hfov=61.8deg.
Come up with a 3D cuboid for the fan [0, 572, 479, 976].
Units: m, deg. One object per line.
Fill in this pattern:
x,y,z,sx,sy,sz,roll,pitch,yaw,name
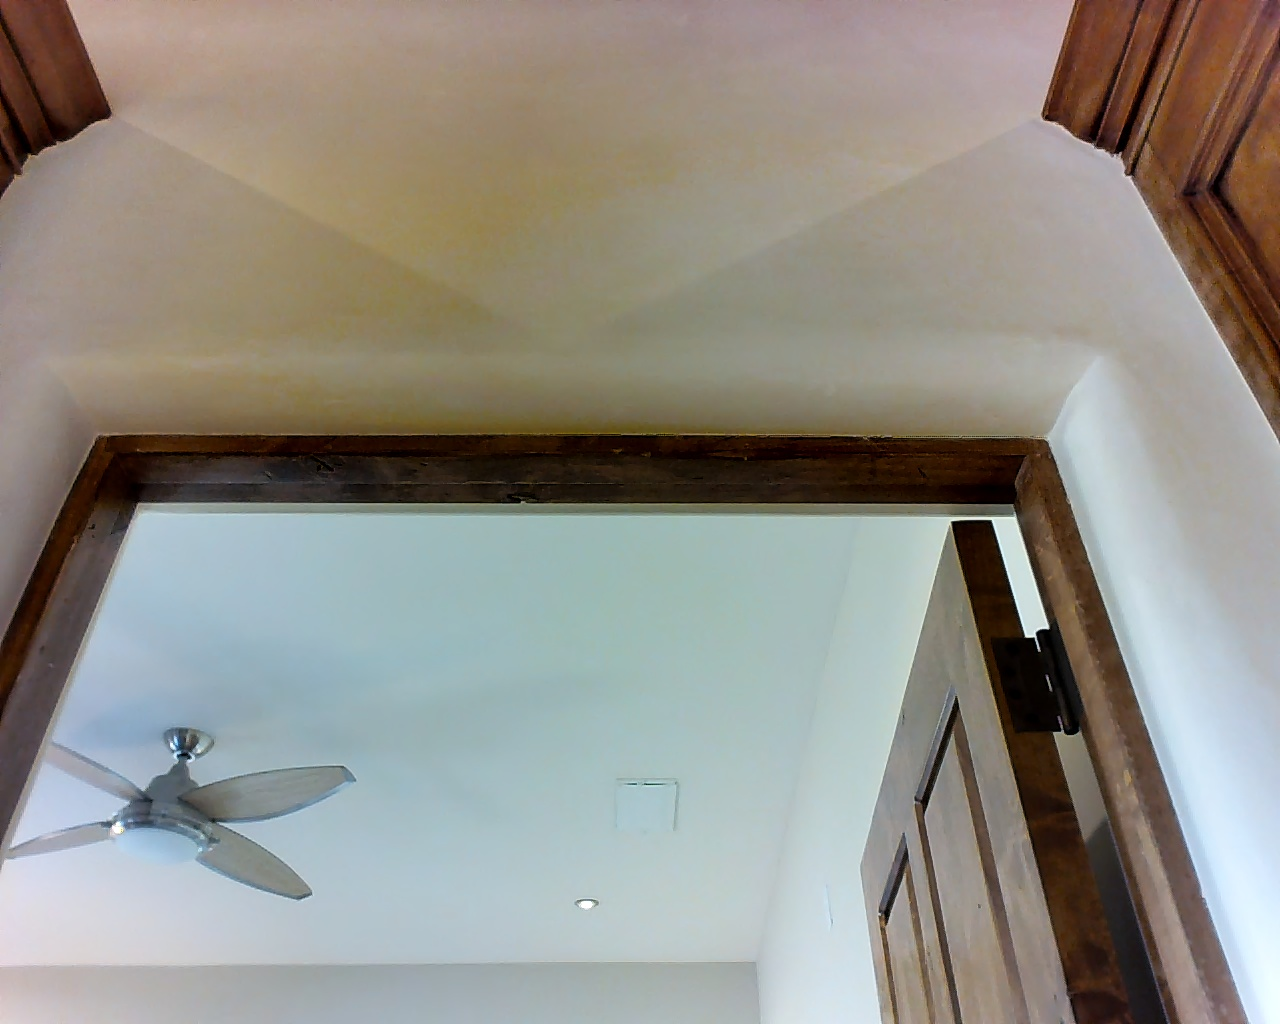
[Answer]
-1.439,0.870,3.140,1.429,0.390,1.330,-15,-43,16,fan
